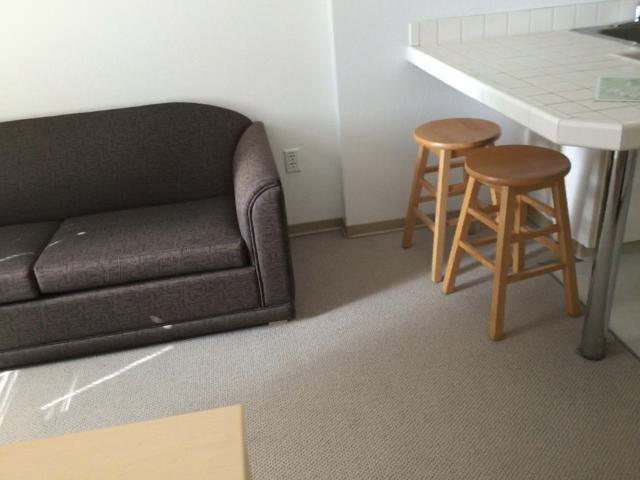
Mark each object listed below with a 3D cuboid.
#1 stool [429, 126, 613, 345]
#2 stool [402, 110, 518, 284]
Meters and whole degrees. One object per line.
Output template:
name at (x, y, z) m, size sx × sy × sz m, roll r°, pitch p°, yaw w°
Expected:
stool at (0.720, -0.040, 2.220) m, size 0.450 × 0.620 × 0.530 m, roll -8°, pitch 26°, yaw -4°
stool at (0.590, -0.200, 2.530) m, size 0.350 × 0.610 × 0.420 m, roll -8°, pitch 26°, yaw -4°
